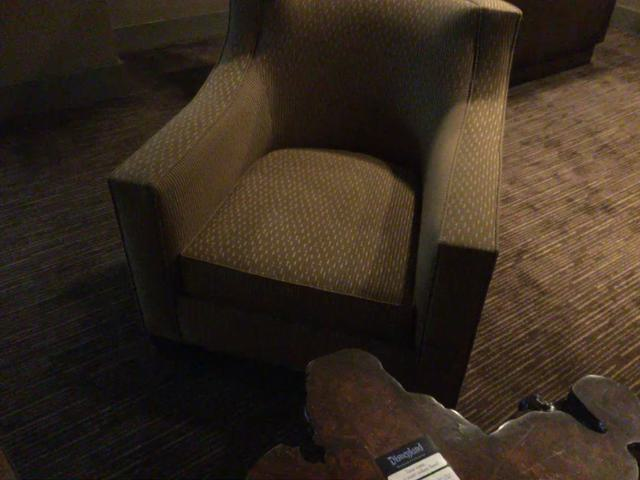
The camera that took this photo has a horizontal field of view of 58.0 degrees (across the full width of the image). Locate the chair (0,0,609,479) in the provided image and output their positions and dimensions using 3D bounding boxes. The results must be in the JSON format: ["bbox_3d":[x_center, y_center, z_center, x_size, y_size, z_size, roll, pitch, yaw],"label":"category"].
[{"bbox_3d":[0.050,-0.200,1.600,1.020,0.860,1.110,10,36,12],"label":"chair"}]
